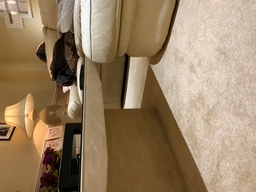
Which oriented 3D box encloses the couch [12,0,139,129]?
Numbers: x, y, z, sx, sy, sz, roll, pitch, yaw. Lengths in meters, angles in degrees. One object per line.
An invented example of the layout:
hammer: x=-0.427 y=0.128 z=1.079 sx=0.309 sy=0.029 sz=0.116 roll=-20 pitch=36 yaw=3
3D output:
couch: x=-0.500 y=-0.870 z=2.230 sx=1.040 sy=0.980 sz=2.310 roll=-105 pitch=18 yaw=-54
